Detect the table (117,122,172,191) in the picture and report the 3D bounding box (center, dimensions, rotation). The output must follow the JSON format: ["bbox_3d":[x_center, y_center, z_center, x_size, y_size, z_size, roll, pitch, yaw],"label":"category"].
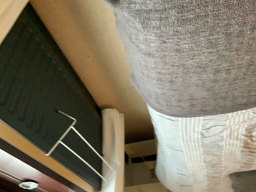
[{"bbox_3d":[0.160,0.710,1.940,0.400,0.780,0.430,-12,141,11],"label":"table"}]
